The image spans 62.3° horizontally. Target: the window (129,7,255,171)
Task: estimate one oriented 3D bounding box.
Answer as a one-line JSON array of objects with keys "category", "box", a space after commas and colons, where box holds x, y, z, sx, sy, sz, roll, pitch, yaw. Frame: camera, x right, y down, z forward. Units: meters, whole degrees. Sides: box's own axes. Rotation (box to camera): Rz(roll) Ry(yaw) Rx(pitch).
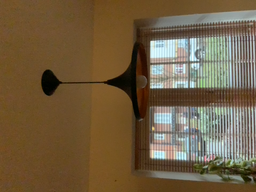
[{"category": "window", "box": [0.620, -0.060, 1.560, 0.100, 1.210, 1.130, 16, -106, -77]}]
